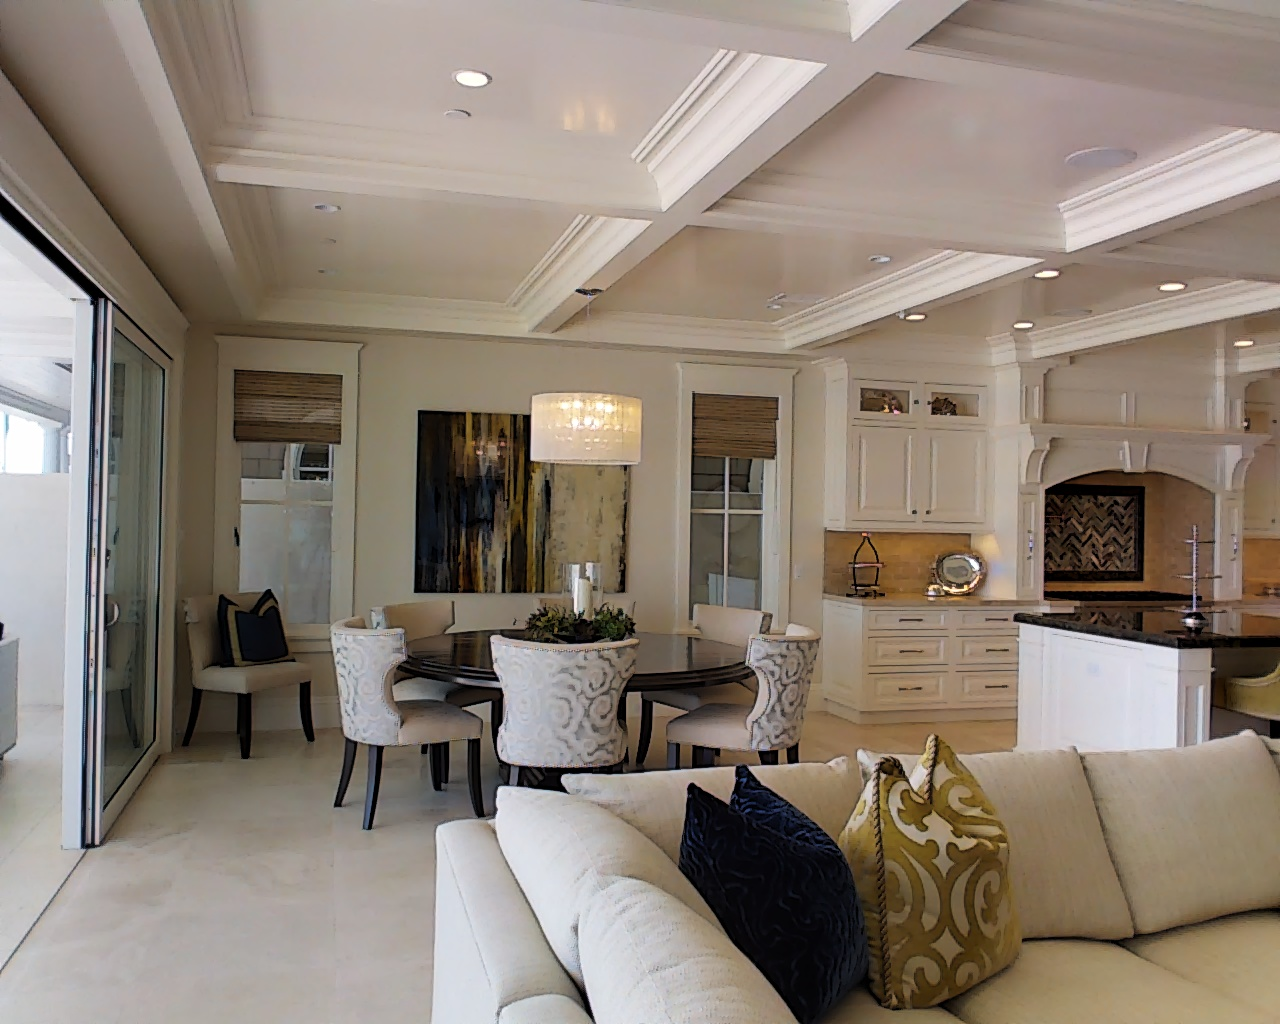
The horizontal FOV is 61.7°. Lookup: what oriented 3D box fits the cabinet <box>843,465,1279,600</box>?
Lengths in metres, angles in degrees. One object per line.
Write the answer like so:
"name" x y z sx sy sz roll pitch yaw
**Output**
"cabinet" 4.318 0.210 8.850 5.568 1.000 0.410 1 0 -16
